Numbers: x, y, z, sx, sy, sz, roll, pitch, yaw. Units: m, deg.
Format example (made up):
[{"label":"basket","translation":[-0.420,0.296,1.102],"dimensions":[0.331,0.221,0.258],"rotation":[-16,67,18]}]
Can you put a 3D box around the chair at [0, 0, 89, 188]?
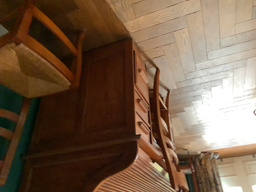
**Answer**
[{"label":"chair","translation":[-0.560,-0.070,1.130],"dimensions":[0.460,0.940,0.470],"rotation":[-14,145,18]}]
